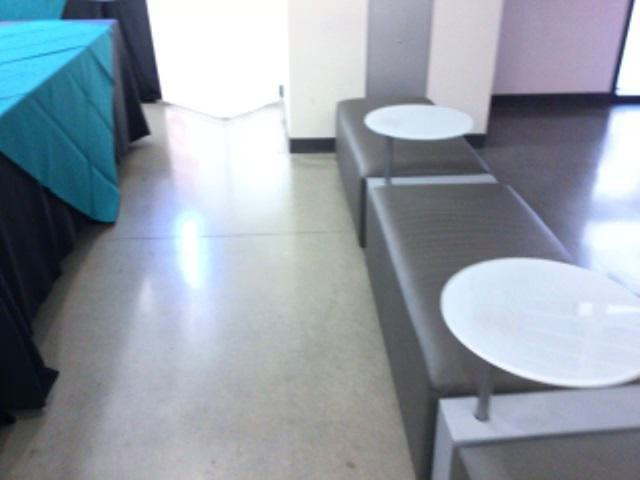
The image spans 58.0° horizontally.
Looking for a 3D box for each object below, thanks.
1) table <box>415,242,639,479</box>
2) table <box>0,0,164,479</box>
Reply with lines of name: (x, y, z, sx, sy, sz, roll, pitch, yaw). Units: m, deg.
table: (0.450, 0.230, 1.140, 0.420, 0.210, 0.500, -3, 29, -2)
table: (-1.230, 0.160, 1.440, 0.890, 0.910, 4.630, -4, 29, -4)
